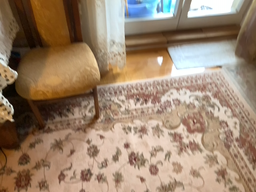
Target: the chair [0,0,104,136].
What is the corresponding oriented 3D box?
[{"bbox_3d":[-0.440,-0.310,1.260,0.470,1.070,0.570,-9,52,-11],"label":"chair"}]
